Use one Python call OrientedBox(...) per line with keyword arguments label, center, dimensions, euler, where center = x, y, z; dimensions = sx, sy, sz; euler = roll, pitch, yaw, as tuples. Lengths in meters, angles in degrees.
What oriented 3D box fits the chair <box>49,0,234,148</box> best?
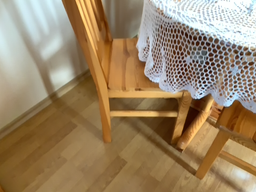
OrientedBox(label="chair", center=(0.040, -0.210, 1.030), dimensions=(0.530, 0.920, 0.490), euler=(2, 46, 1))
